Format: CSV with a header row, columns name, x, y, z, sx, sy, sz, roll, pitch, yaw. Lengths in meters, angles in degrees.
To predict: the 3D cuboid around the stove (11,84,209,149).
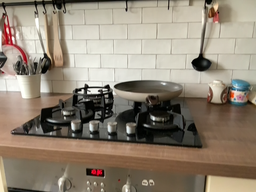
name,x,y,z,sx,sy,sz,roll,pitch,yaw
stove,-0.030,0.040,0.890,0.590,0.050,0.560,2,15,9
